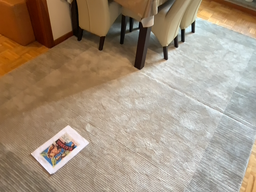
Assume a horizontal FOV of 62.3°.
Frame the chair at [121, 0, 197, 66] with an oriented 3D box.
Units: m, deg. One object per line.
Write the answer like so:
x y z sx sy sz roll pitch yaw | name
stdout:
0.300 -0.840 1.950 0.510 0.900 0.430 31 51 20 | chair

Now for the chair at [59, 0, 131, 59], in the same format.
-0.290 -0.920 1.940 0.440 0.920 0.510 30 51 19 | chair
